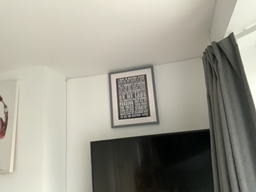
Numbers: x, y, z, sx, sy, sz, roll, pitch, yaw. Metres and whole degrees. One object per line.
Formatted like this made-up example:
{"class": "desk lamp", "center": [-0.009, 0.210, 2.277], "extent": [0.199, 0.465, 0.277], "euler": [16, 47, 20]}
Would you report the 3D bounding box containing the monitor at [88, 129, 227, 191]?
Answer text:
{"class": "monitor", "center": [0.150, 0.600, 1.520], "extent": [1.000, 0.620, 0.080], "euler": [-11, -15, 25]}
